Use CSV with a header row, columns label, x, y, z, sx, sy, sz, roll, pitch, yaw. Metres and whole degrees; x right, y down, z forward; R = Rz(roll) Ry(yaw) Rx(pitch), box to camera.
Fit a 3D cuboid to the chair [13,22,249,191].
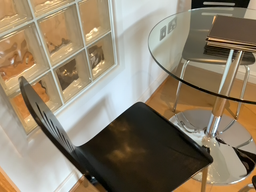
label,x,y,z,sx,sy,sz,roll,pitch,yaw
chair,0.010,0.240,0.870,0.500,0.840,0.430,-28,47,-25
